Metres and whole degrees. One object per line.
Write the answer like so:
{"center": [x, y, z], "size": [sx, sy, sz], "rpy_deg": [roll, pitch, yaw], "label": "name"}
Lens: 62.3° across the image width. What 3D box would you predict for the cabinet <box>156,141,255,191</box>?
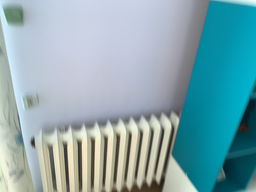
{"center": [0.540, 0.680, 1.520], "size": [0.470, 0.450, 0.440], "rpy_deg": [-5, 31, -21], "label": "cabinet"}
